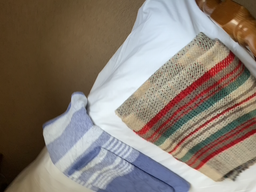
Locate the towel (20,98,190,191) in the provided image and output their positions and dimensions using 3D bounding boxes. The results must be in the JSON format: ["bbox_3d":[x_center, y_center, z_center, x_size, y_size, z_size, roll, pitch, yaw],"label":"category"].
[{"bbox_3d":[-0.090,0.350,1.030,0.650,0.200,0.390,32,118,-24],"label":"towel"}]
